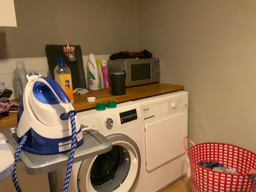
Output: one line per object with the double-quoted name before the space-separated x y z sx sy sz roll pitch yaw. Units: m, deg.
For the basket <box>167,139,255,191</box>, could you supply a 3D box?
"basket" 0.620 0.640 1.540 0.550 0.430 0.440 5 13 28
